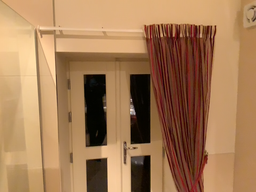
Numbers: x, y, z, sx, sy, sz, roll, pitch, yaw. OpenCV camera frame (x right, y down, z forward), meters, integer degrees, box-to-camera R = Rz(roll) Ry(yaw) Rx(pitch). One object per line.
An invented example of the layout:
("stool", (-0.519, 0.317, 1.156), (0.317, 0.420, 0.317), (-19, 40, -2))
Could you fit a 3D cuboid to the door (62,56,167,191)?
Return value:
("door", (-0.100, 0.530, 2.000), (0.930, 1.790, 0.060), (-2, 6, -8))
